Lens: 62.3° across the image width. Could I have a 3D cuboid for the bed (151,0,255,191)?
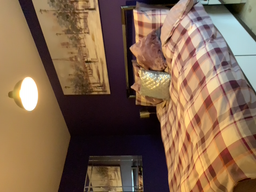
[{"bbox_3d":[0.700,0.110,2.040,2.000,0.730,1.660,-90,-2,-46],"label":"bed"}]
